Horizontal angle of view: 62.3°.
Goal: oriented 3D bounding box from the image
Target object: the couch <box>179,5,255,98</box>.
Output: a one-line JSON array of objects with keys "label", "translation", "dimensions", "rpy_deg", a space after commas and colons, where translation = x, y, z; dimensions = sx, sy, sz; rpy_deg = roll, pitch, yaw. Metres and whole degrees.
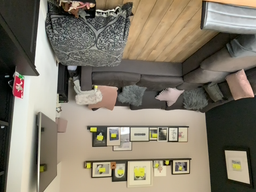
[{"label": "couch", "translation": [1.650, -0.500, 3.290], "dimensions": [0.970, 0.730, 1.740], "rpy_deg": [2, 168, -12]}]

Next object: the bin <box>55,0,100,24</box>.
[{"label": "bin", "translation": [-0.500, -0.940, 2.170], "dimensions": [0.410, 0.230, 0.320], "rpy_deg": [1, 168, -11]}]

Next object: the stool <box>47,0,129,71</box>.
[{"label": "stool", "translation": [-0.520, -0.720, 2.840], "dimensions": [0.880, 0.440, 1.020], "rpy_deg": [1, 168, -11]}]

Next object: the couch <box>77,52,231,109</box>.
[{"label": "couch", "translation": [0.470, -0.220, 4.430], "dimensions": [2.960, 0.800, 1.050], "rpy_deg": [2, 168, -12]}]
